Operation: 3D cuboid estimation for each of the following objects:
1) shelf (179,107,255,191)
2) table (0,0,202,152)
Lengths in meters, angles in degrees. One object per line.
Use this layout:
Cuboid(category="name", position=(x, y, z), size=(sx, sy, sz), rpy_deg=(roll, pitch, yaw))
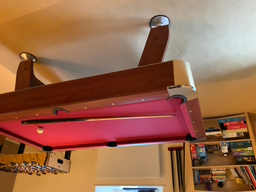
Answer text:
Cuboid(category="shelf", position=(1.330, 0.830, 3.150), size=(0.950, 1.140, 0.440), rpy_deg=(-9, 150, 19))
Cuboid(category="table", position=(-0.440, -0.050, 1.990), size=(1.980, 0.790, 1.060), rpy_deg=(-9, 150, 20))
